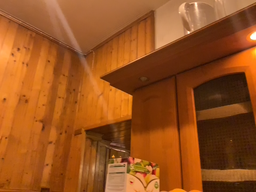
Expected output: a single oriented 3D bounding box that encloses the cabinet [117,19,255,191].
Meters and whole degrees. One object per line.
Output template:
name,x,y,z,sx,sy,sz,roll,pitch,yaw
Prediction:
cabinet,0.470,0.160,0.930,1.070,0.800,0.350,-18,-31,40
